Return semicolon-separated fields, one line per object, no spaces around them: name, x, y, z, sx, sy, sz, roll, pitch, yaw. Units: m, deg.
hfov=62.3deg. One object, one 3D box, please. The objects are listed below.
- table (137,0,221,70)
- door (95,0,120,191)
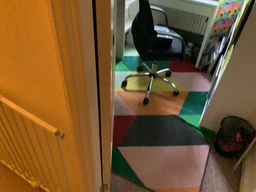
table;0.600;-0.870;2.550;0.750;0.740;0.570;20;45;15
door;-0.080;-0.160;1.040;0.050;1.660;0.760;3;43;-3
